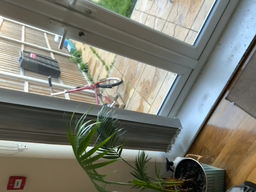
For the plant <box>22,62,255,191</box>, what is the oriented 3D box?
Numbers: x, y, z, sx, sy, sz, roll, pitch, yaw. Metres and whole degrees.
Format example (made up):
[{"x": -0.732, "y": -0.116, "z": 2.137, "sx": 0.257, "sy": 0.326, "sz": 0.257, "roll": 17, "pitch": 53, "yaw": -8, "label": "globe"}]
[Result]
[{"x": 0.120, "y": 0.470, "z": 1.170, "sx": 0.880, "sy": 1.130, "sz": 0.600, "roll": -65, "pitch": 33, "yaw": 19, "label": "plant"}]
